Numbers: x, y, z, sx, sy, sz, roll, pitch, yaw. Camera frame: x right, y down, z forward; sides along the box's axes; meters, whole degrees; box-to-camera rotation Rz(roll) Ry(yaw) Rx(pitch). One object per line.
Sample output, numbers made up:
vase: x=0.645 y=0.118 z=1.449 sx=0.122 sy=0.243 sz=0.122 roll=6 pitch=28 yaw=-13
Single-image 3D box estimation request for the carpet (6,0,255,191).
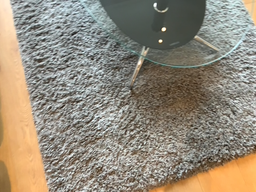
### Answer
carpet: x=0.030 y=-0.400 z=1.140 sx=1.230 sy=0.070 sz=1.720 roll=-18 pitch=75 yaw=-5
